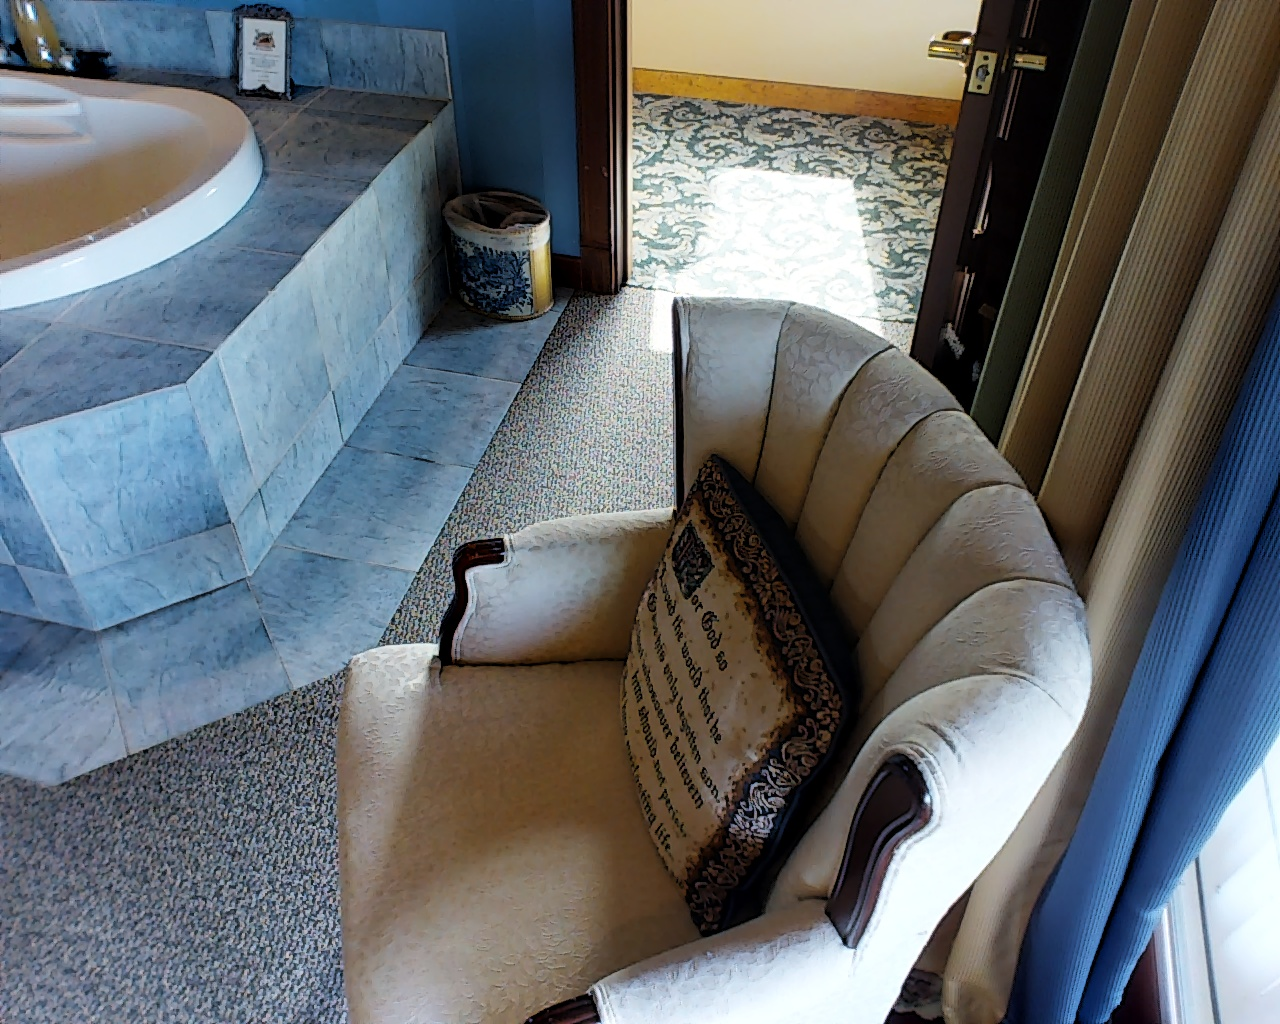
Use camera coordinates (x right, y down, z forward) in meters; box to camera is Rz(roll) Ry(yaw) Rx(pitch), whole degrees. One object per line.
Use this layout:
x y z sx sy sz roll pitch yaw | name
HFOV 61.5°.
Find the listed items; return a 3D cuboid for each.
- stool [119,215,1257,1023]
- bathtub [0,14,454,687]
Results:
-0.030 0.310 1.290 0.760 0.980 0.750 -9 44 -11 | stool
-1.880 -0.590 2.490 2.470 0.660 1.370 11 44 10 | bathtub
